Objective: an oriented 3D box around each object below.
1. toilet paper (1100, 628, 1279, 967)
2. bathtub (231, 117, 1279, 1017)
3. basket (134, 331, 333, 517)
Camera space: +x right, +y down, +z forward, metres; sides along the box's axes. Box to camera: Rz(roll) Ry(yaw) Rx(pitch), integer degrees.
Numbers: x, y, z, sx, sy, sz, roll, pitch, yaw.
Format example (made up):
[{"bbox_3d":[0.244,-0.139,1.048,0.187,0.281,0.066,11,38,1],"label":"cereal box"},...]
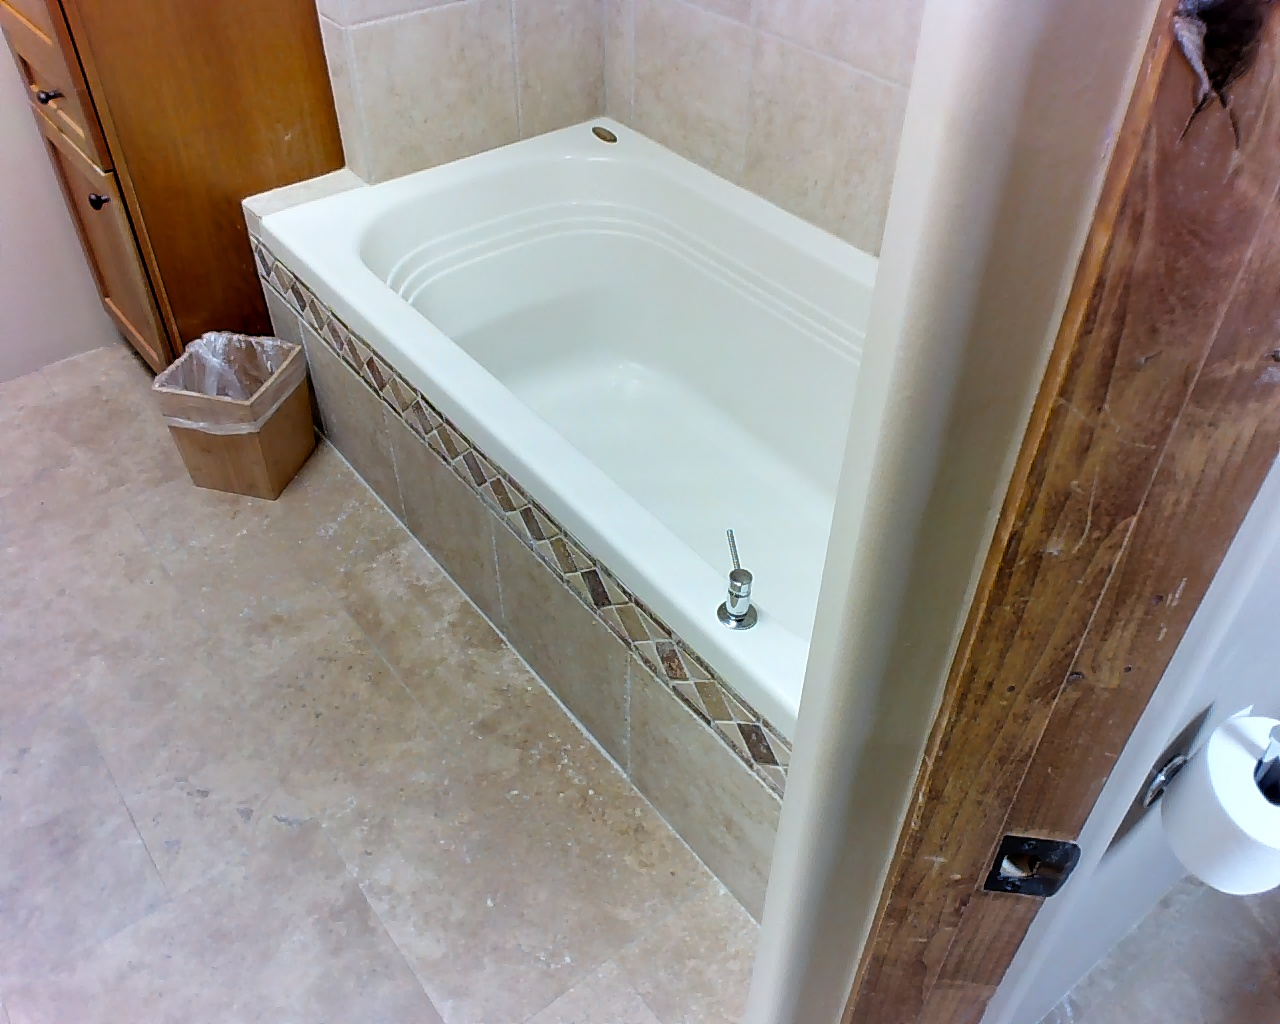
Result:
[{"bbox_3d":[0.510,0.240,0.880,0.170,0.200,0.140,21,45,21],"label":"toilet paper"},{"bbox_3d":[0.050,-0.120,1.960,0.820,0.480,1.710,-28,49,-28],"label":"bathtub"},{"bbox_3d":[-0.810,-0.180,2.170,0.250,0.260,0.230,8,42,8],"label":"basket"}]
